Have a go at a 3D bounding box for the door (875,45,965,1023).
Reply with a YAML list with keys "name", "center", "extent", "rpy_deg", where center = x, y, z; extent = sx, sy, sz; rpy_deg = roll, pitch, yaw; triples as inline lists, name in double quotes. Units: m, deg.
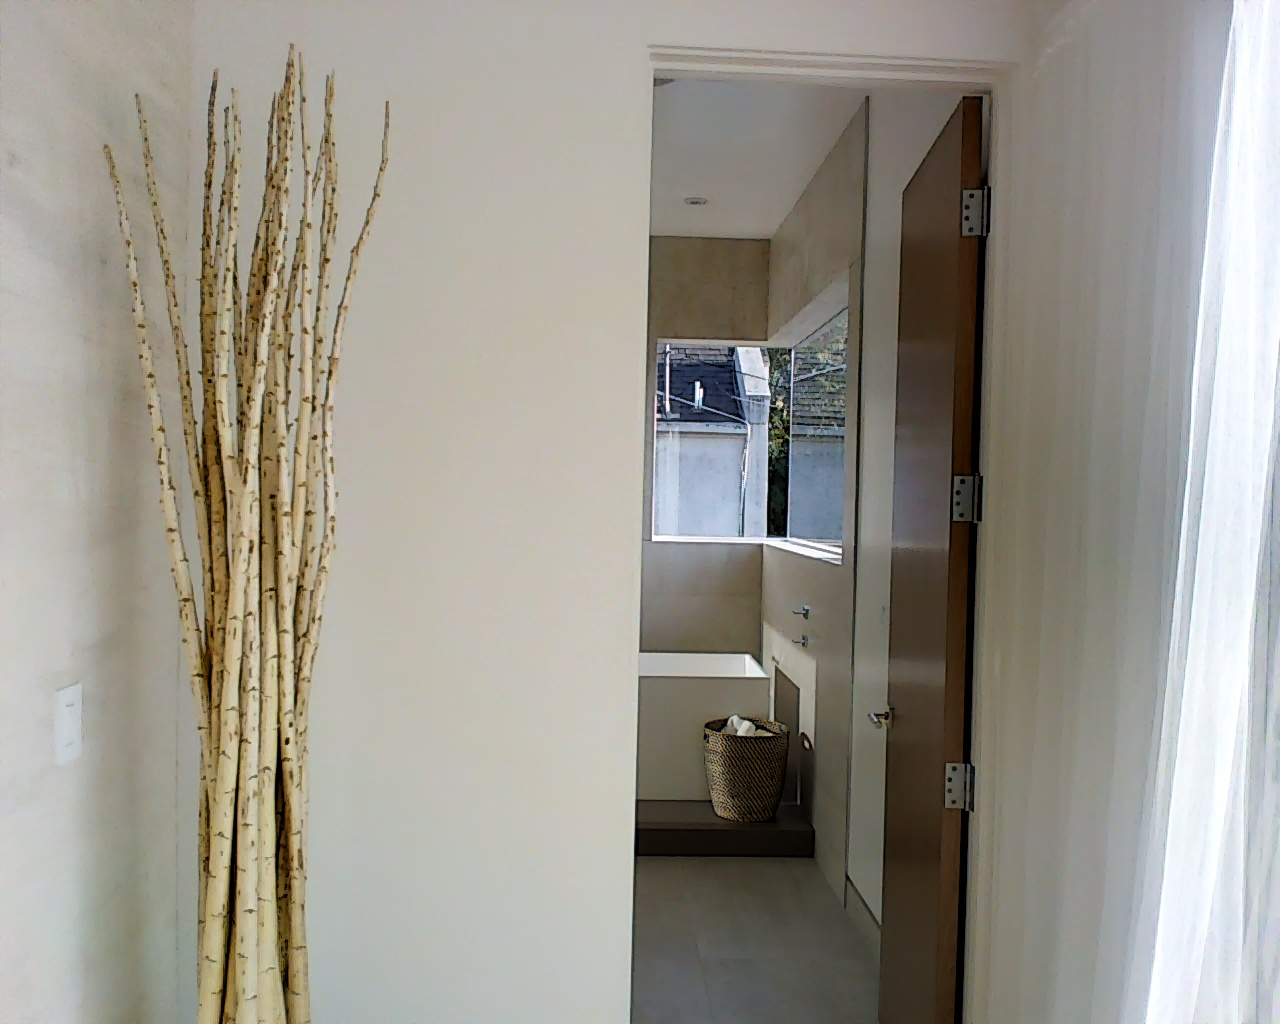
- name: "door"
  center: [0.720, 0.230, 2.830]
  extent: [0.030, 2.571, 0.780]
  rpy_deg: [1, 1, 5]
